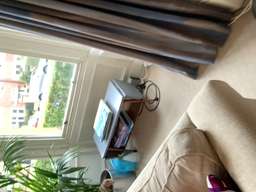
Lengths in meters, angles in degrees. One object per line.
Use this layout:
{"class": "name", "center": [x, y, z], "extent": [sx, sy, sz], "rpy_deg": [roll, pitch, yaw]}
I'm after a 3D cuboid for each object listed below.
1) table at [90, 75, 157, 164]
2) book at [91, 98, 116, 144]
{"class": "table", "center": [-0.090, 0.260, 2.410], "extent": [0.480, 0.400, 0.840], "rpy_deg": [49, 128, 52]}
{"class": "book", "center": [-0.270, 0.260, 2.250], "extent": [0.310, 0.080, 0.360], "rpy_deg": [52, 130, 51]}
